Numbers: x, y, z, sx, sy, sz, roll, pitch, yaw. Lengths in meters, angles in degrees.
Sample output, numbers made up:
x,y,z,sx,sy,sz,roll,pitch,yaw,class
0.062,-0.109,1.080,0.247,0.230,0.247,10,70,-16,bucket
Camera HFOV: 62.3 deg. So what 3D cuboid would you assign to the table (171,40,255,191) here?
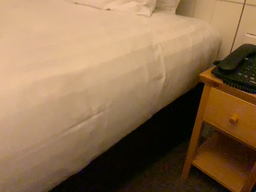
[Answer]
x,y,z,sx,sy,sz,roll,pitch,yaw,class
0.470,0.110,0.930,0.370,0.580,0.300,-24,41,-35,table
